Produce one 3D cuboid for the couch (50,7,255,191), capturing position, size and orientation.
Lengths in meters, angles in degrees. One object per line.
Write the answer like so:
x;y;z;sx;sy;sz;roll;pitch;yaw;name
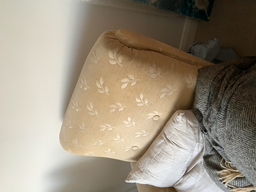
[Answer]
0.310;0.300;0.930;0.730;0.920;0.960;-57;49;38;couch
